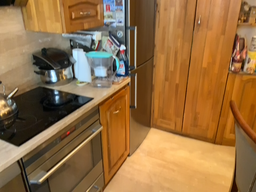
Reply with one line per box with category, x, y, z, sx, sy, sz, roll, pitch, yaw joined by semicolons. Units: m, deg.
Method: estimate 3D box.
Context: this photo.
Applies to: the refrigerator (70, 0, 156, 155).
refrigerator;-0.110;-0.470;2.120;0.550;2.000;0.610;12;27;25
